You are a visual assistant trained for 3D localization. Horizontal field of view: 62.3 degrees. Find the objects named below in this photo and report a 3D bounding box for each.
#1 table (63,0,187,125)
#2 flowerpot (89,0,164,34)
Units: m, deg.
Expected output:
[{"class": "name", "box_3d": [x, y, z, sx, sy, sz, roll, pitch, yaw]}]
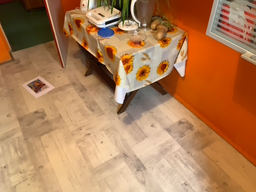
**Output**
[{"class": "table", "box_3d": [-0.070, -0.380, 1.970, 0.630, 0.670, 0.920, -24, 48, -23]}, {"class": "flowerpot", "box_3d": [-0.020, -0.820, 1.690, 0.480, 0.400, 0.400, -23, 48, -21]}]
